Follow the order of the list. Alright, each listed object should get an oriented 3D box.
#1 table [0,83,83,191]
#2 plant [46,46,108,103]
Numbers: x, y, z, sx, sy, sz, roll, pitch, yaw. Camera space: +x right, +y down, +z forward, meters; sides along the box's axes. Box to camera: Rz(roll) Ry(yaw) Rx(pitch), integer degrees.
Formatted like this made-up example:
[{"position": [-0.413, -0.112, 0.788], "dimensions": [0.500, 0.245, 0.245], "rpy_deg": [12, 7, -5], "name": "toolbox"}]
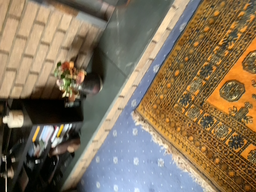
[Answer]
[{"position": [-0.830, 0.400, 1.800], "dimensions": [0.460, 0.400, 0.880], "rpy_deg": [47, 117, 32], "name": "table"}, {"position": [-0.360, -0.140, 1.480], "dimensions": [0.270, 0.250, 0.260], "rpy_deg": [49, 118, 32], "name": "plant"}]
